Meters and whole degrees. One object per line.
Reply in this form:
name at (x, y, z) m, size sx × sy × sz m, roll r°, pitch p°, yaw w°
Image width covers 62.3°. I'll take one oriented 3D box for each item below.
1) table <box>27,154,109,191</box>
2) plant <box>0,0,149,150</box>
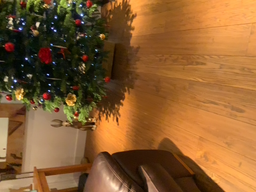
table at (-0.790, 1.160, 2.610) m, size 1.000 × 0.690 × 0.470 m, roll 18°, pitch 102°, yaw 58°
plant at (-1.140, -0.470, 2.080) m, size 1.130 × 2.220 × 1.610 m, roll 25°, pitch 108°, yaw 57°
